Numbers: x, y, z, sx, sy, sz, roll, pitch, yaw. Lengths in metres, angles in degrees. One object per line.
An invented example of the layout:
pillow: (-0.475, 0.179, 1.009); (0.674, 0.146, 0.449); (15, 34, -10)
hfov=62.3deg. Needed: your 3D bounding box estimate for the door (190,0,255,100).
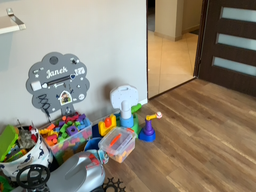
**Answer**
door: (1.140, -0.950, 2.130); (0.150, 1.900, 0.910); (-26, 39, -29)
